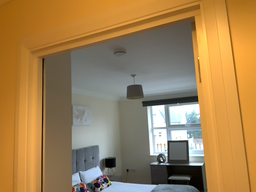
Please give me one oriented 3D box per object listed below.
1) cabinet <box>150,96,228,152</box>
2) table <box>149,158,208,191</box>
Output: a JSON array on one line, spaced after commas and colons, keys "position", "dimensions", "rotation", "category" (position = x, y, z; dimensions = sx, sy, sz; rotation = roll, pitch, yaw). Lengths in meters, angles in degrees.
[{"position": [1.500, 0.760, 5.490], "dimensions": [1.850, 1.330, 0.110], "rotation": [-8, -10, 27], "category": "cabinet"}, {"position": [1.130, 1.850, 4.820], "dimensions": [1.180, 0.780, 0.420], "rotation": [-7, -10, 25], "category": "table"}]
